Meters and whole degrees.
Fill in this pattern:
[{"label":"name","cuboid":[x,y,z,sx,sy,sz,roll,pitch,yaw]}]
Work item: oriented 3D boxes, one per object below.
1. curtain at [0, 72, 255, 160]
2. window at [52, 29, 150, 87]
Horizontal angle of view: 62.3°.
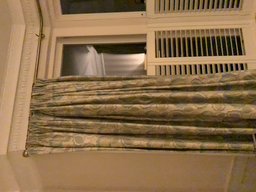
[{"label":"curtain","cuboid":[0.460,0.150,1.770,0.340,2.860,0.630,-78,-13,-77]},{"label":"window","cuboid":[-0.270,-0.420,2.340,0.220,0.990,0.570,82,-172,-68]}]
